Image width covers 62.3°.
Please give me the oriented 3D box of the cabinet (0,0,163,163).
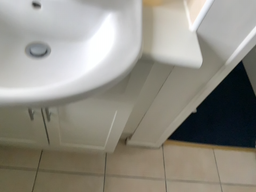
[{"bbox_3d":[-0.300,-0.030,0.870,0.620,0.760,0.340,8,56,-10],"label":"cabinet"}]
